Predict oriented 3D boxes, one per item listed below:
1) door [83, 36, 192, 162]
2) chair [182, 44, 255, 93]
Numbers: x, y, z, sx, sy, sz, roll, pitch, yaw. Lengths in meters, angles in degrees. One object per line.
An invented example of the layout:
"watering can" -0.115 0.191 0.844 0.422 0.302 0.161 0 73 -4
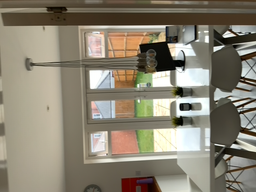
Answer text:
"door" 0.210 0.040 4.040 0.120 2.010 2.310 -153 61 -84
"chair" 0.990 -0.250 2.090 0.490 0.750 0.410 -163 72 -84
